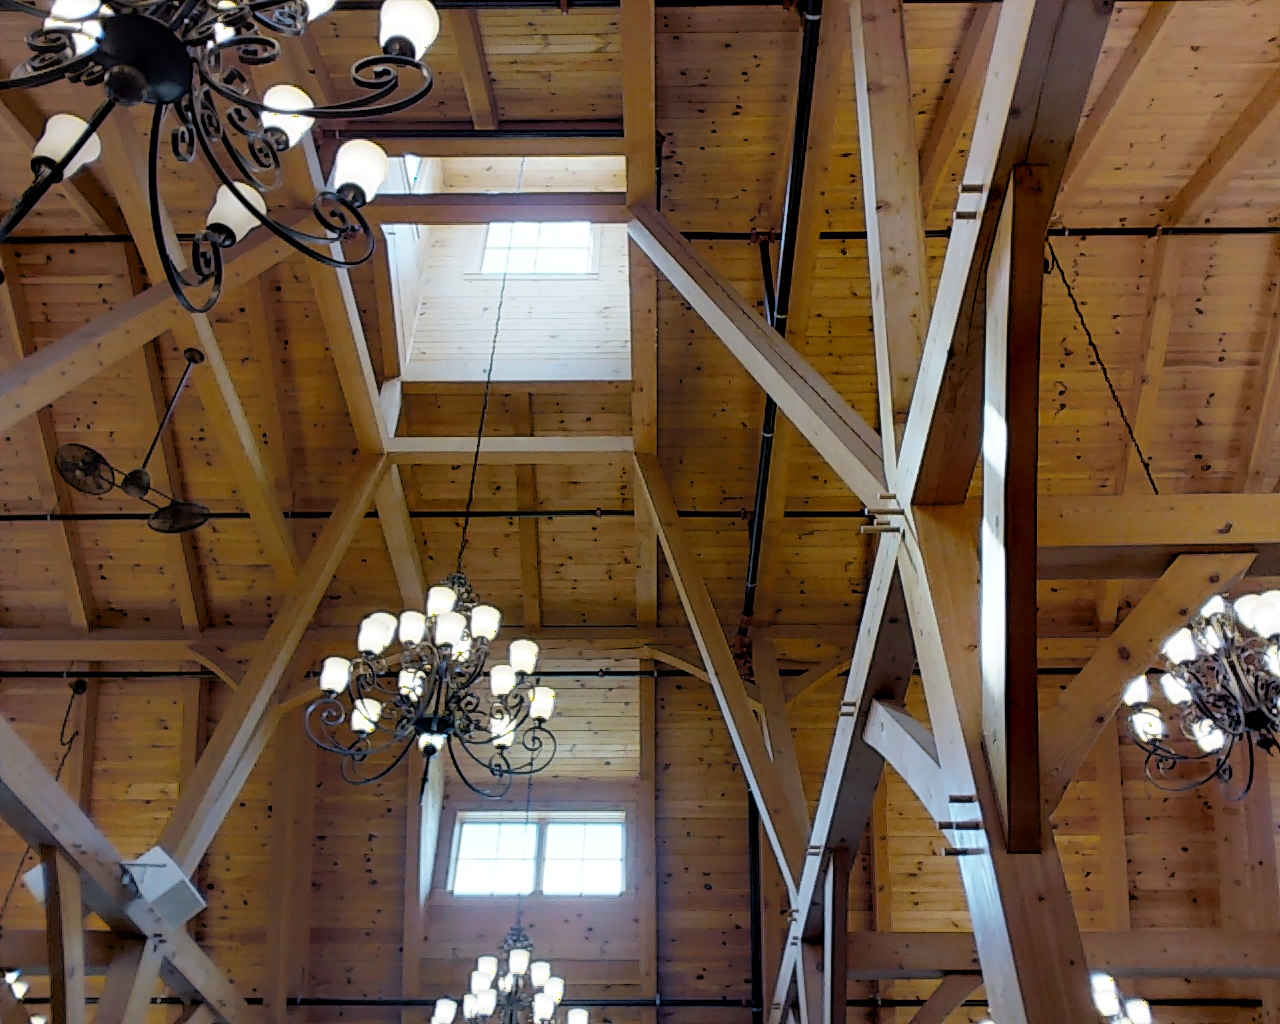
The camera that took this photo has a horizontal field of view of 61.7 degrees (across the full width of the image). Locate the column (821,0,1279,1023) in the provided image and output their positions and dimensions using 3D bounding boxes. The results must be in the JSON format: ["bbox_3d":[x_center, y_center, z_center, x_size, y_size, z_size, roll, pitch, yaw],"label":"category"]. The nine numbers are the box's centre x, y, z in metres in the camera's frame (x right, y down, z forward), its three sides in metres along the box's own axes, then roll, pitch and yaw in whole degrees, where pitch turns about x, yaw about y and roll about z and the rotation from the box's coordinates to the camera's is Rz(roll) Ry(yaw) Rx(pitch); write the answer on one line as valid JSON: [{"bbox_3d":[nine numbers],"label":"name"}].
[{"bbox_3d":[1.519,1.091,2.840,1.139,5.191,3.201,0,-42,1],"label":"column"}]
